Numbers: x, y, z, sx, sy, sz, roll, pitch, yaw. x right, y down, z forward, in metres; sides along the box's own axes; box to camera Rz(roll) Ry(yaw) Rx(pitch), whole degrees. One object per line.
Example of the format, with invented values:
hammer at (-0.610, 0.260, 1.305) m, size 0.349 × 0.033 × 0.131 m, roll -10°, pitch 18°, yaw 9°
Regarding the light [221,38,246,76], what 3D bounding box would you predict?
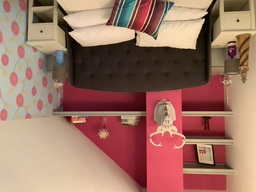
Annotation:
light at (1.150, -0.420, 2.330) m, size 0.160 × 0.360 × 0.240 m, roll -1°, pitch 178°, yaw 7°
